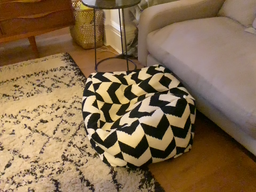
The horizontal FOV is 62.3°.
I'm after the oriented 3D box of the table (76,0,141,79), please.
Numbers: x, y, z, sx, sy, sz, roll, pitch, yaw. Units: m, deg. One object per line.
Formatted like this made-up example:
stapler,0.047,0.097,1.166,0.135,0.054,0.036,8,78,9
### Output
table,-0.150,-0.500,1.700,0.360,0.550,0.350,-19,42,-22
